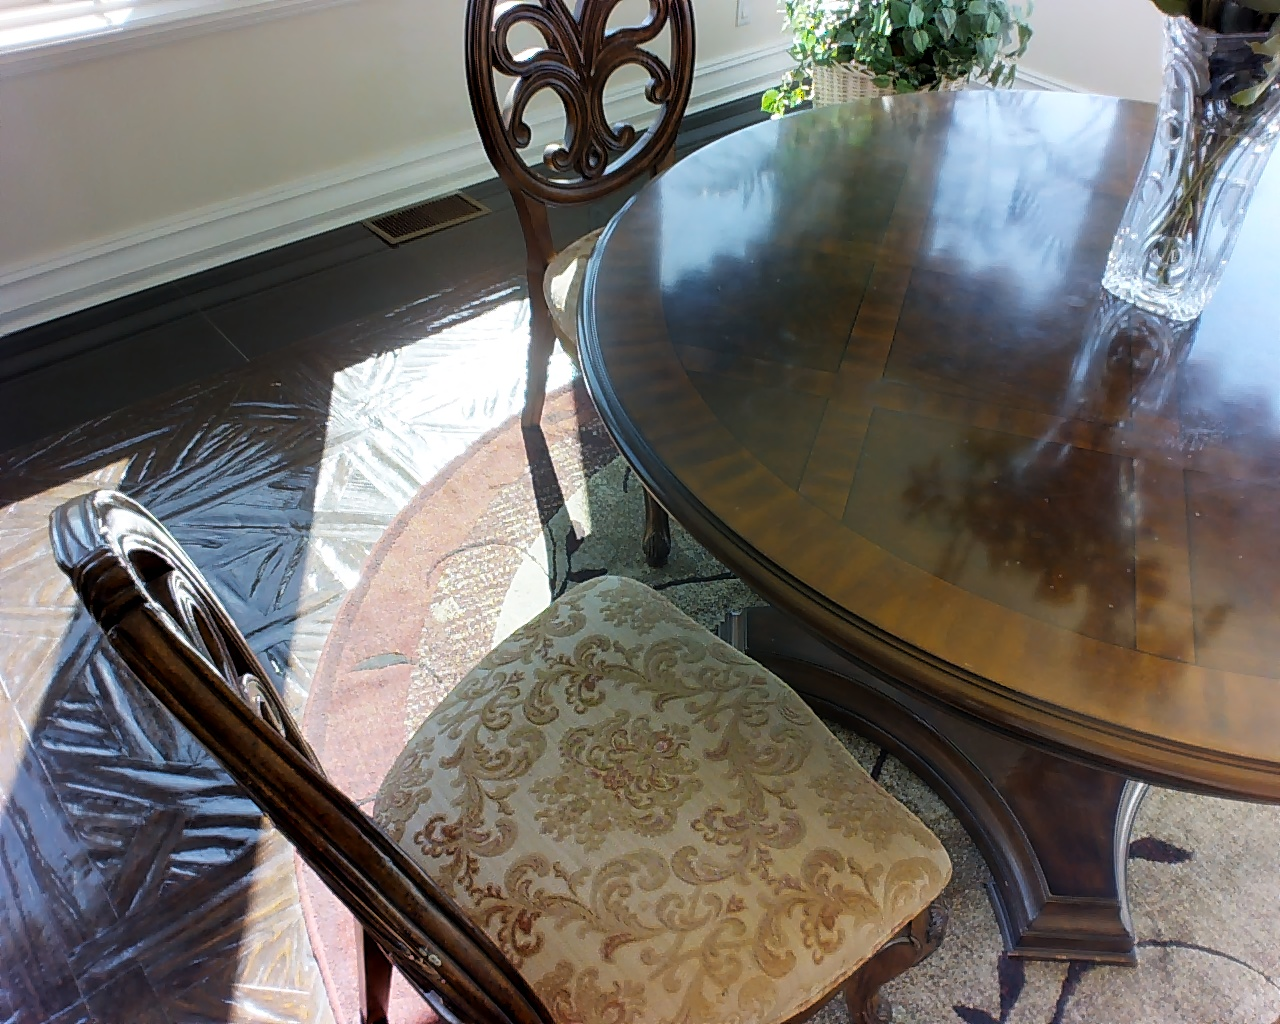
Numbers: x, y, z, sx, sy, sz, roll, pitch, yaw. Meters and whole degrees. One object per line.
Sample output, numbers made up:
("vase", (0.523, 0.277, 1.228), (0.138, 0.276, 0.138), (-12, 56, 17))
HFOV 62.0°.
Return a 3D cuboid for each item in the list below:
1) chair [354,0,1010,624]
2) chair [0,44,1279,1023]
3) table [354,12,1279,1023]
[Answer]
("chair", (0.060, -0.550, 1.990), (0.760, 1.070, 0.750), (34, 51, 30))
("chair", (-0.050, 0.260, 1.070), (0.710, 1.080, 0.690), (-29, 51, -30))
("table", (0.650, -0.010, 1.620), (1.470, 0.780, 1.480), (-29, 51, -29))
